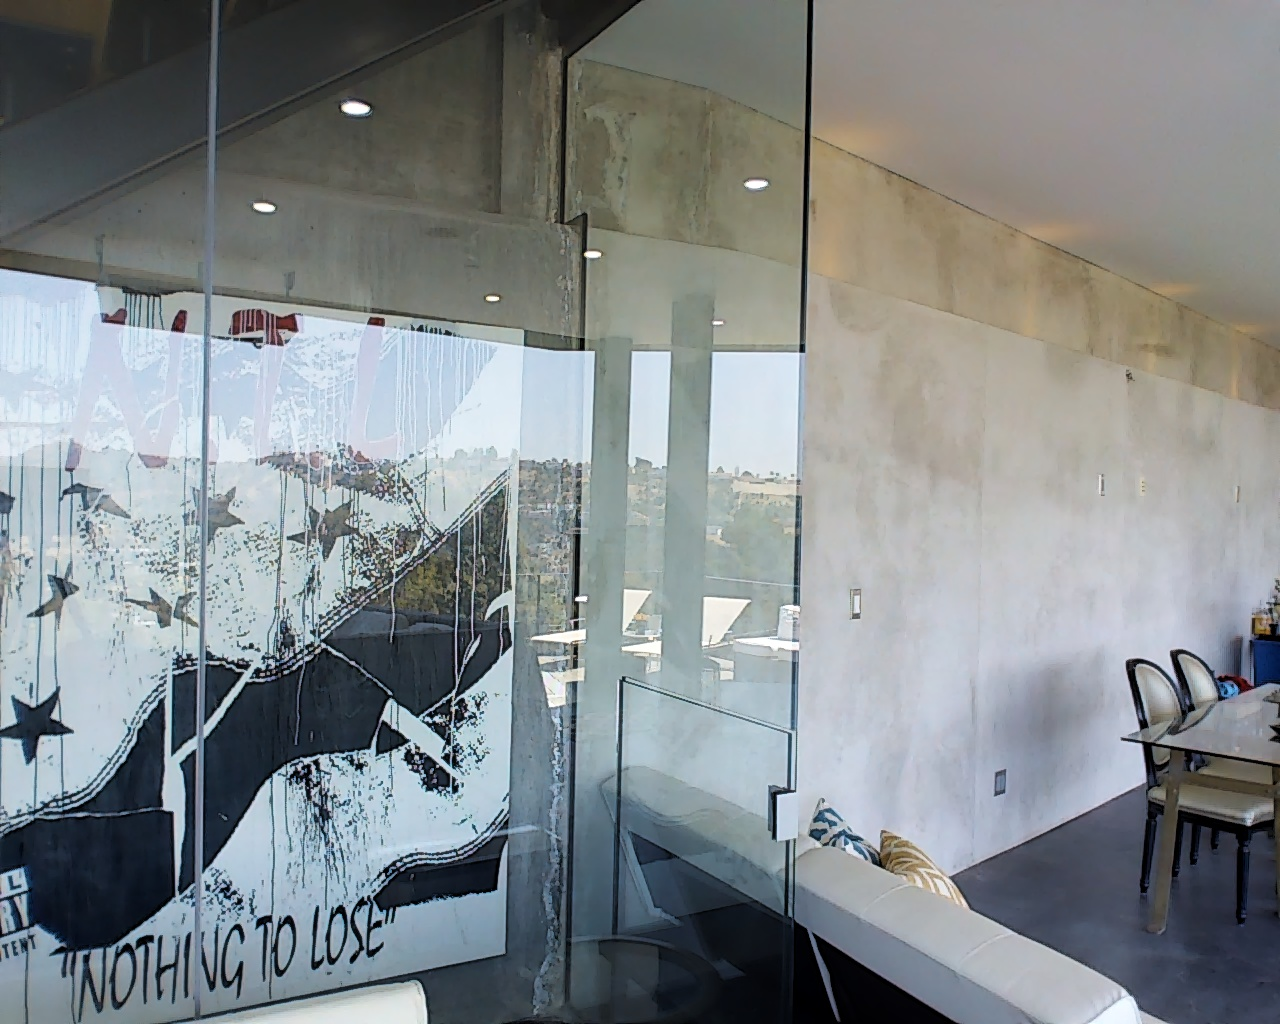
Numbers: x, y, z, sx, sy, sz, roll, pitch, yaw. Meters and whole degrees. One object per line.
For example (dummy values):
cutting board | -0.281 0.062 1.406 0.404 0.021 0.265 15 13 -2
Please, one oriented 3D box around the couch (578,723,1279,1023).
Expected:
couch | 0.710 1.150 2.840 1.030 0.750 1.870 1 0 -29
